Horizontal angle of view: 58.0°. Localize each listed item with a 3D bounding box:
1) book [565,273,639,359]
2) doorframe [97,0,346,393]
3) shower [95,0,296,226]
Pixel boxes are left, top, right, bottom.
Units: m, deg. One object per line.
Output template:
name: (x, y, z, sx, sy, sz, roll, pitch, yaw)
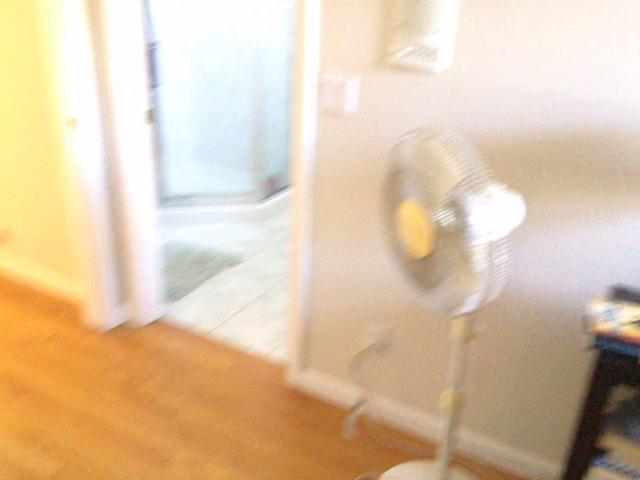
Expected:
book: (0.670, 0.170, 1.190, 0.280, 0.080, 0.180, 15, 23, 23)
doorframe: (-0.410, -0.210, 2.200, 0.850, 1.400, 0.250, 15, 23, 23)
shower: (-0.800, -1.150, 3.630, 1.080, 1.950, 0.790, -2, 22, -18)
